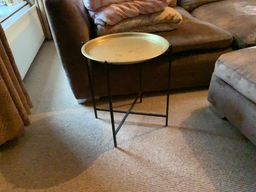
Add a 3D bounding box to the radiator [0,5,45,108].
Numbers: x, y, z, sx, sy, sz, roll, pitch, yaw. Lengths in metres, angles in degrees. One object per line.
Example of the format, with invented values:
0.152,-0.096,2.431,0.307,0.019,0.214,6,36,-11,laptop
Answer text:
-0.930,-0.460,1.820,0.090,0.360,1.450,-7,33,-7,radiator
